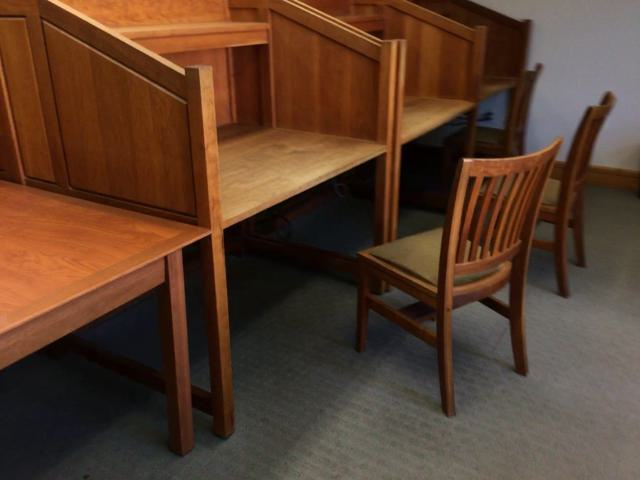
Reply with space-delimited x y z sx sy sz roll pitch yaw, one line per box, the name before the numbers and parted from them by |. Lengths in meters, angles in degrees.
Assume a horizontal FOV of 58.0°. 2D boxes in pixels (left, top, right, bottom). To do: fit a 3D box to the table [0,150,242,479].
table | -1.280 0.260 1.810 1.790 0.900 0.930 9 23 32
